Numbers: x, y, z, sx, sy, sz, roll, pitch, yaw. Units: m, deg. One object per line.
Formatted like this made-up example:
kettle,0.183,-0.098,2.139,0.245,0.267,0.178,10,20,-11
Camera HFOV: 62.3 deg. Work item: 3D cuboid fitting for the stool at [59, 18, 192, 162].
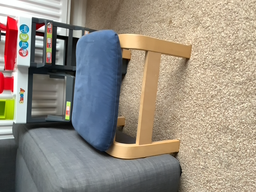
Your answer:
stool,-0.040,-0.030,0.770,0.400,0.280,0.360,12,99,55
